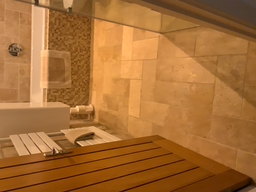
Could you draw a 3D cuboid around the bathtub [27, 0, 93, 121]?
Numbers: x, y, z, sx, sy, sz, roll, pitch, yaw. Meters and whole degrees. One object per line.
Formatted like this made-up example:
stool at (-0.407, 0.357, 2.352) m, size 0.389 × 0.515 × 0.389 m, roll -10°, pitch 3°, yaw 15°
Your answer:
bathtub at (-1.070, -0.690, 3.220) m, size 0.920 × 0.650 × 1.940 m, roll 12°, pitch 100°, yaw 53°
